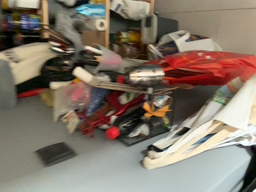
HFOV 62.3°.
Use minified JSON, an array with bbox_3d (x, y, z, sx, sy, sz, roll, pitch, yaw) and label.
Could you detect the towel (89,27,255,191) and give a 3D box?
[{"bbox_3d":[0.480,0.100,0.660,0.360,1.060,0.410,-34,72,49],"label":"towel"}]
